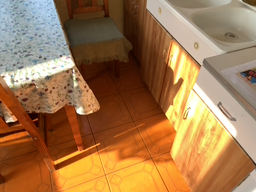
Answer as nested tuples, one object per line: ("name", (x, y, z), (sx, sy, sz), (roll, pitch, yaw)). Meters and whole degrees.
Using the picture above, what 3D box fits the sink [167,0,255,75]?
("sink", (0.530, -0.340, 1.160), (0.480, 0.160, 0.380), (-13, 49, -15))

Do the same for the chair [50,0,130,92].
("chair", (-0.350, -0.620, 1.840), (0.510, 0.850, 0.690), (-11, 49, -14))

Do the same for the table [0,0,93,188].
("table", (-0.840, -0.200, 1.490), (0.800, 0.760, 1.330), (-14, 50, -16))

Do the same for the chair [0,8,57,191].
("chair", (-0.700, 0.100, 1.140), (0.380, 0.870, 0.560), (-13, 49, -15))
